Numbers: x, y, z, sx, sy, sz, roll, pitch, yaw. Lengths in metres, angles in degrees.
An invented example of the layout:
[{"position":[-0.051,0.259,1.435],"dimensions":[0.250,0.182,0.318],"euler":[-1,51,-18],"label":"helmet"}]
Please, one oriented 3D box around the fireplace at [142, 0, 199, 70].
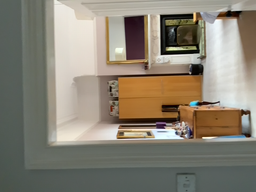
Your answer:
[{"position":[1.010,-1.560,5.180],"dimensions":[0.480,1.250,1.730],"euler":[29,-120,-89],"label":"fireplace"}]
